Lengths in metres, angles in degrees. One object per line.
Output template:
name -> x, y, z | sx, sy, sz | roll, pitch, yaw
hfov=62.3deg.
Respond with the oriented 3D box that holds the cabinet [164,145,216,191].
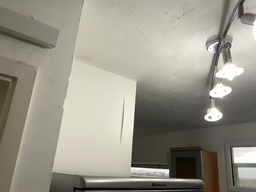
cabinet -> 0.760, 1.060, 2.670 | 0.300, 0.820, 0.560 | 16, -22, -32
